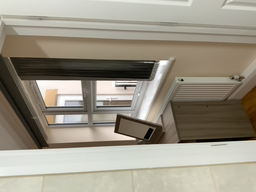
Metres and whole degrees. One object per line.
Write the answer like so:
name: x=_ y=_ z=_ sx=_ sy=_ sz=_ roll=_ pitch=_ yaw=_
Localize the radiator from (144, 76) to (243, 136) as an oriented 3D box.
radiator: x=0.620 y=0.170 z=2.330 sx=1.160 sy=0.670 sz=0.060 roll=104 pitch=163 yaw=-55
